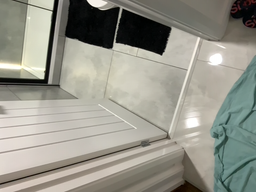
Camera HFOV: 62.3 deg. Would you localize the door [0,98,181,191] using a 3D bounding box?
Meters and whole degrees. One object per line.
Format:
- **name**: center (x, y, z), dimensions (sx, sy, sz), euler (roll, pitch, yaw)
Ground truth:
- **door**: center (-0.620, 0.200, 0.930), dimensions (0.800, 1.960, 0.070), euler (24, 108, 41)
